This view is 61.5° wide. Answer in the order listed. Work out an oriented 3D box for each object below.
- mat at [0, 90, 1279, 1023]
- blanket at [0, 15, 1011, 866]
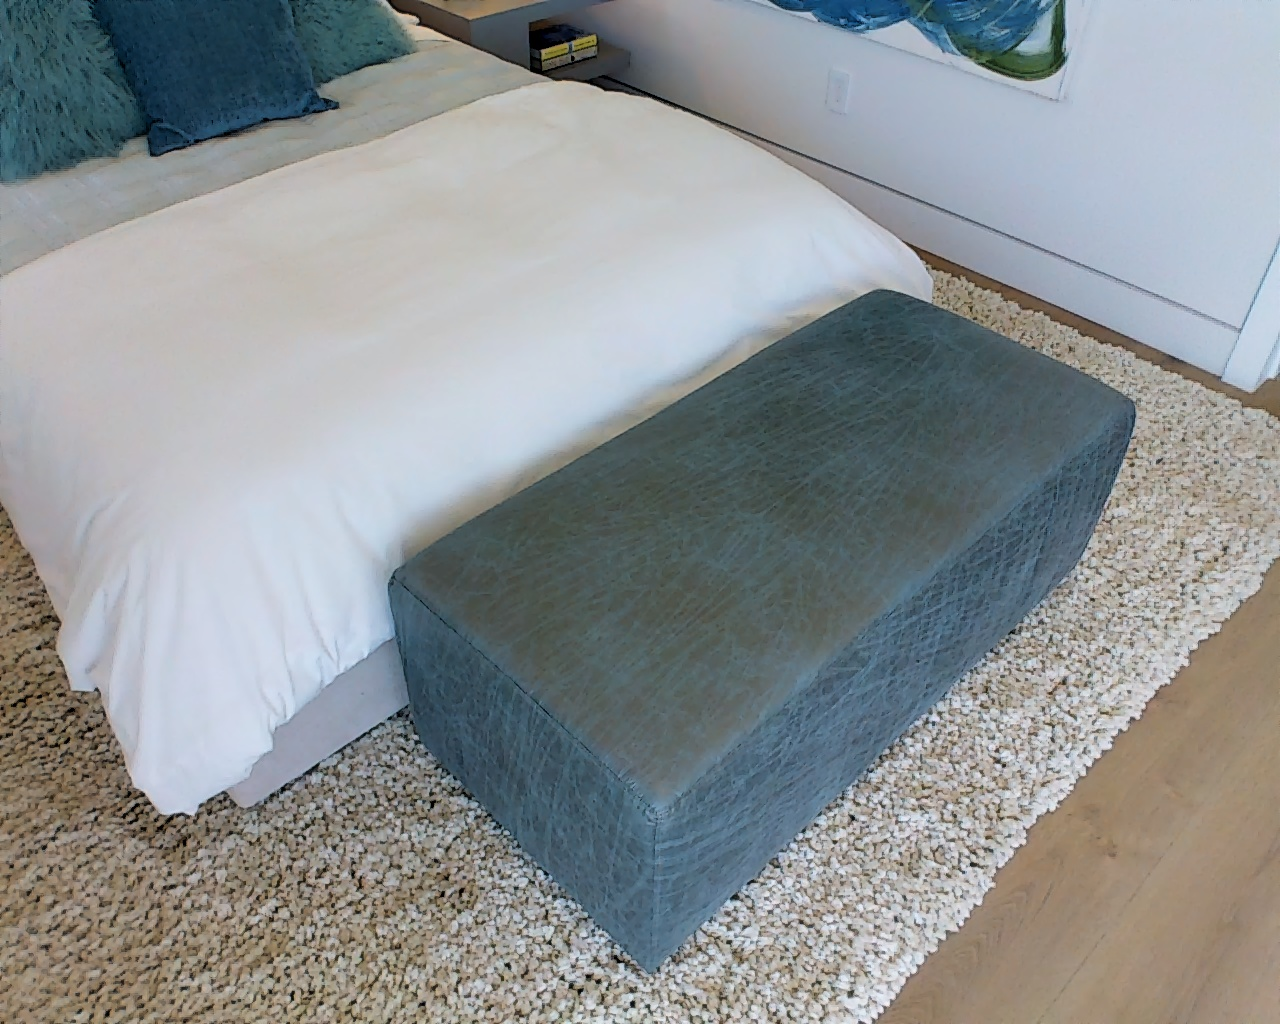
[{"bbox_3d":[-0.380,-0.130,2.470,3.300,0.090,2.900,-32,51,-32],"label":"mat"},{"bbox_3d":[-0.310,-0.400,2.180,2.020,0.520,1.050,-32,51,-32],"label":"blanket"}]
